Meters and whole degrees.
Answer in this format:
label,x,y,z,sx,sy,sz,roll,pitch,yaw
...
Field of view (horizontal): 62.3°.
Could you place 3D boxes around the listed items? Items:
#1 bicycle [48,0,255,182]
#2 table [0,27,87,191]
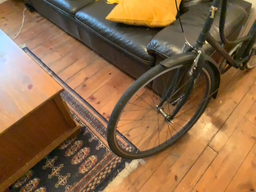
label,x,y,z,sx,sy,sz,roll,pitch,yaw
bicycle,0.730,-0.450,1.310,2.170,1.070,0.310,-35,61,-20
table,-0.840,0.050,1.330,0.900,0.530,0.640,38,65,24
